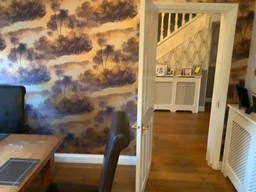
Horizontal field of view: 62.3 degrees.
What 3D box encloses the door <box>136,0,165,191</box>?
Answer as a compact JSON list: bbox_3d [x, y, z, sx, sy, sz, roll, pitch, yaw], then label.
[{"bbox_3d":[0.240,0.110,2.180,0.080,2.030,0.880,5,14,14],"label":"door"}]
